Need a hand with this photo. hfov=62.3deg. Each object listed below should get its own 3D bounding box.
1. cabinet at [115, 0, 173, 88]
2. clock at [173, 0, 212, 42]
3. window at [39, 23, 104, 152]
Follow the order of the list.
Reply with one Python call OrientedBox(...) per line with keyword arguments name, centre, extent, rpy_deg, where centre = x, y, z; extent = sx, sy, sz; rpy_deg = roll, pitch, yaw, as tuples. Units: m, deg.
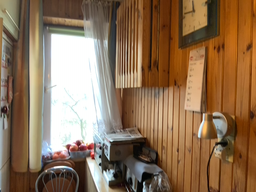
OrientedBox(name="cabinet", centre=(0.080, -0.410, 1.570), extent=(0.190, 0.680, 0.660), rpy_deg=(1, 1, -17))
OrientedBox(name="clock", centre=(0.310, -0.450, 1.050), extent=(0.030, 0.300, 0.280), rpy_deg=(1, 1, -17))
OrientedBox(name="window", centre=(-0.620, -0.080, 2.380), extent=(0.660, 1.360, 0.160), rpy_deg=(1, 1, -14))
